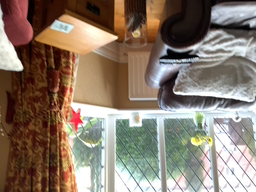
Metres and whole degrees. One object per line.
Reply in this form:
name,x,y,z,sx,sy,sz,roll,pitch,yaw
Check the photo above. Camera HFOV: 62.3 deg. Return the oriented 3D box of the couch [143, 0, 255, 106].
couch,0.690,-0.430,1.530,1.080,0.850,0.980,-1,169,0
